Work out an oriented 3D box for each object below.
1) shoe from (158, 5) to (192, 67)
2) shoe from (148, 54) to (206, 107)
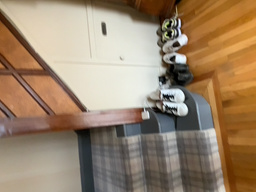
[{"bbox_3d":[0.400,-0.510,1.860,0.260,0.080,0.450,-20,75,60],"label":"shoe"},{"bbox_3d":[0.380,-0.110,1.720,0.370,0.240,0.350,-15,78,60],"label":"shoe"}]
